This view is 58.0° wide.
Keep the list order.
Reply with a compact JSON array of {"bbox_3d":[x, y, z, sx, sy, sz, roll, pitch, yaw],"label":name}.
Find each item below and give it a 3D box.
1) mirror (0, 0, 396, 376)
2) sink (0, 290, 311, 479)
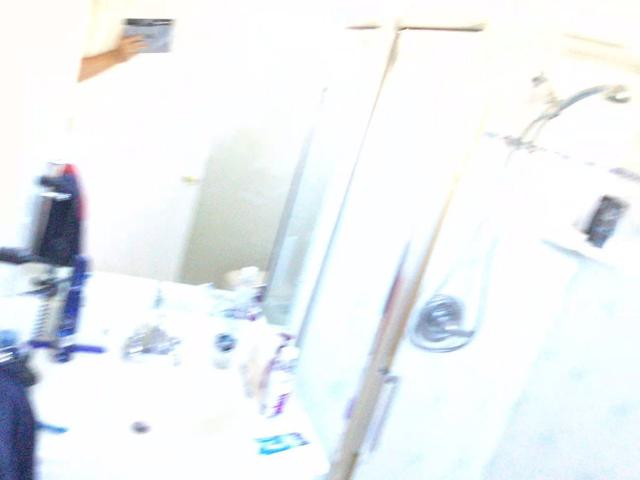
[{"bbox_3d":[-0.320,-0.130,1.570,0.800,0.910,0.150,14,12,-20],"label":"mirror"},{"bbox_3d":[-0.450,0.390,1.430,0.720,0.240,0.470,14,12,-20],"label":"sink"}]
